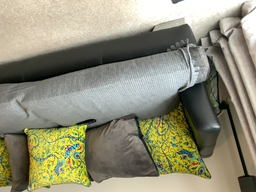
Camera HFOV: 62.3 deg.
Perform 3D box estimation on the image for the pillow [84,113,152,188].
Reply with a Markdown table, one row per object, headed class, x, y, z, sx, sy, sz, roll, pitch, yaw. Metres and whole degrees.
| class | x | y | z | sx | sy | sz | roll | pitch | yaw |
| --- | --- | --- | --- | --- | --- | --- | --- | --- | --- |
| pillow | -0.060 | 0.410 | 1.610 | 0.420 | 0.430 | 0.280 | -8 | 138 | 8 |
